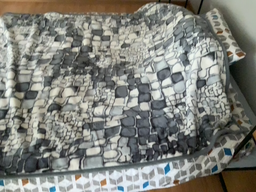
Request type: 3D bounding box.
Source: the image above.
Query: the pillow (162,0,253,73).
[{"bbox_3d":[0.560,-0.490,1.650,0.470,0.160,0.710,1,49,-4],"label":"pillow"}]
